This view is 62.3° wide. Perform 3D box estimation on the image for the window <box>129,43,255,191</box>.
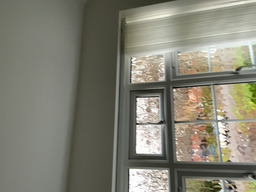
[{"bbox_3d":[0.650,0.290,1.440,0.110,1.280,1.370,50,-141,-64],"label":"window"}]
